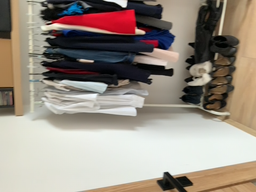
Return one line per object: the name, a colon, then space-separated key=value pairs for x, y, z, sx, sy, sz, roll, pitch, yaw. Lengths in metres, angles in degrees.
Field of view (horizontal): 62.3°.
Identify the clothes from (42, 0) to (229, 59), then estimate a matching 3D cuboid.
clothes: x=0.020 y=-0.600 z=1.610 sx=0.610 sy=1.250 sz=0.490 roll=-144 pitch=56 yaw=-63
